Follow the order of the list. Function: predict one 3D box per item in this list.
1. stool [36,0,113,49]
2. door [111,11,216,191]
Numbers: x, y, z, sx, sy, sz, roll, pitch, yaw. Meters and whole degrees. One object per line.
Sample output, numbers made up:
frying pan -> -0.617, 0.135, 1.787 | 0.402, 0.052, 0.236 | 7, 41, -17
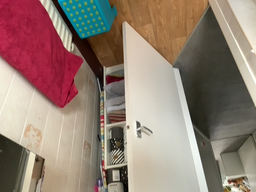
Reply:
stool -> -0.340, -0.620, 1.490 | 0.340, 0.270, 0.440 | -12, 145, 12
door -> 0.300, 0.390, 1.490 | 0.120, 2.020, 1.050 | -28, 139, 31
